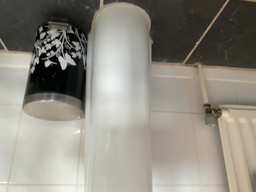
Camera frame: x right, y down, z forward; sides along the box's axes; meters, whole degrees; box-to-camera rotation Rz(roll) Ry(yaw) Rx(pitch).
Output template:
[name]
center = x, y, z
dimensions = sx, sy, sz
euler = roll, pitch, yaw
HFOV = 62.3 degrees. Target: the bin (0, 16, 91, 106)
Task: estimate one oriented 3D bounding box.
[bin]
center = -0.240, -0.100, 0.680
dimensions = 0.220, 0.210, 0.180
euler = 2, 158, -7
